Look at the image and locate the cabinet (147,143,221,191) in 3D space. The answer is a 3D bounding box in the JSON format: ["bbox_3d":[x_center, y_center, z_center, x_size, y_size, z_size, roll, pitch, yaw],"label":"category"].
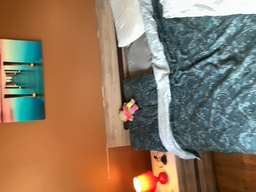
[{"bbox_3d":[0.520,0.750,2.020,0.450,0.460,0.520,159,107,-64],"label":"cabinet"}]
